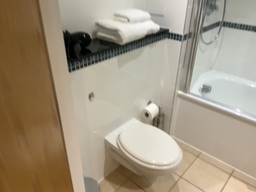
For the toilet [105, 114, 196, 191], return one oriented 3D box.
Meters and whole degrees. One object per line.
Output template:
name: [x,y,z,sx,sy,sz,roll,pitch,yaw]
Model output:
toilet: [0.150,0.500,1.600,0.520,0.450,0.360,25,39,35]
